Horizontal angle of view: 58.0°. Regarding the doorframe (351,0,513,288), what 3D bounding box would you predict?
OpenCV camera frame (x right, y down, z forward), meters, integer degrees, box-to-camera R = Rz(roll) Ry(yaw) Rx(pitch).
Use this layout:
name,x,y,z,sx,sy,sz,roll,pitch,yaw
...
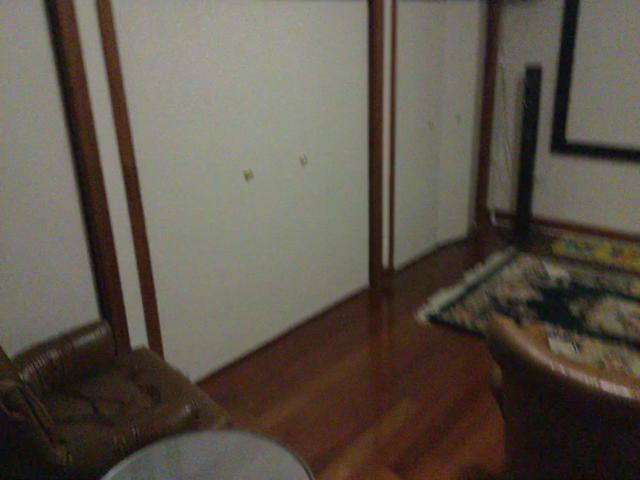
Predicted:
name,x,y,z,sx,sy,sz,roll,pitch,yaw
doorframe,0.780,-0.760,3.610,0.230,1.690,1.420,12,28,40

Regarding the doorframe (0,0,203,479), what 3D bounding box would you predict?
name,x,y,z,sx,sy,sz,roll,pitch,yaw
doorframe,-1.080,0.140,1.670,0.120,1.710,1.410,12,28,40

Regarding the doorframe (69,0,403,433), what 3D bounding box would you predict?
name,x,y,z,sx,sy,sz,roll,pitch,yaw
doorframe,-0.160,-0.310,2.660,0.120,1.780,1.620,12,28,40
